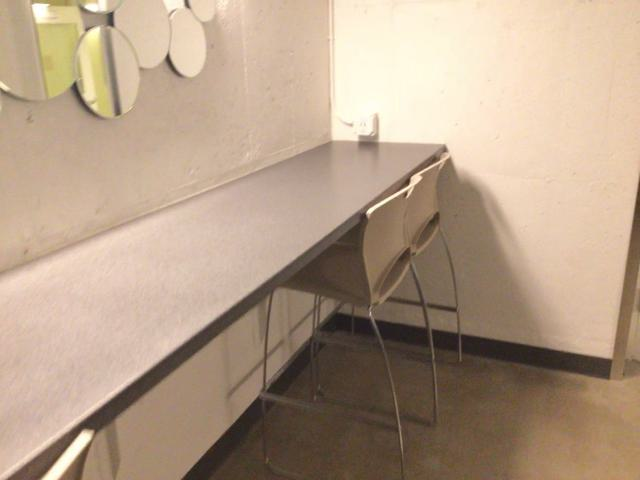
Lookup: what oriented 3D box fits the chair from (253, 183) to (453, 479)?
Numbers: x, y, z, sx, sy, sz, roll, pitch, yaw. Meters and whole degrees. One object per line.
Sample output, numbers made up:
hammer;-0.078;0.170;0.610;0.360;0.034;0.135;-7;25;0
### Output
chair;0.130;0.280;2.010;0.530;0.920;0.500;4;9;23
